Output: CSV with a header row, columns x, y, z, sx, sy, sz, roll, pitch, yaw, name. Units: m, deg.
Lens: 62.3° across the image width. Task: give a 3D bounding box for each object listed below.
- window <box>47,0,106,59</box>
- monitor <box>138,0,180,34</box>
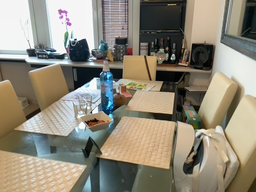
x,y,z,sx,sy,sz,roll,pitch,yaw,name
-0.760,-1.240,3.090,0.870,1.340,0.090,6,20,16,window
0.390,-0.980,2.650,0.500,0.340,0.040,1,19,20,monitor
